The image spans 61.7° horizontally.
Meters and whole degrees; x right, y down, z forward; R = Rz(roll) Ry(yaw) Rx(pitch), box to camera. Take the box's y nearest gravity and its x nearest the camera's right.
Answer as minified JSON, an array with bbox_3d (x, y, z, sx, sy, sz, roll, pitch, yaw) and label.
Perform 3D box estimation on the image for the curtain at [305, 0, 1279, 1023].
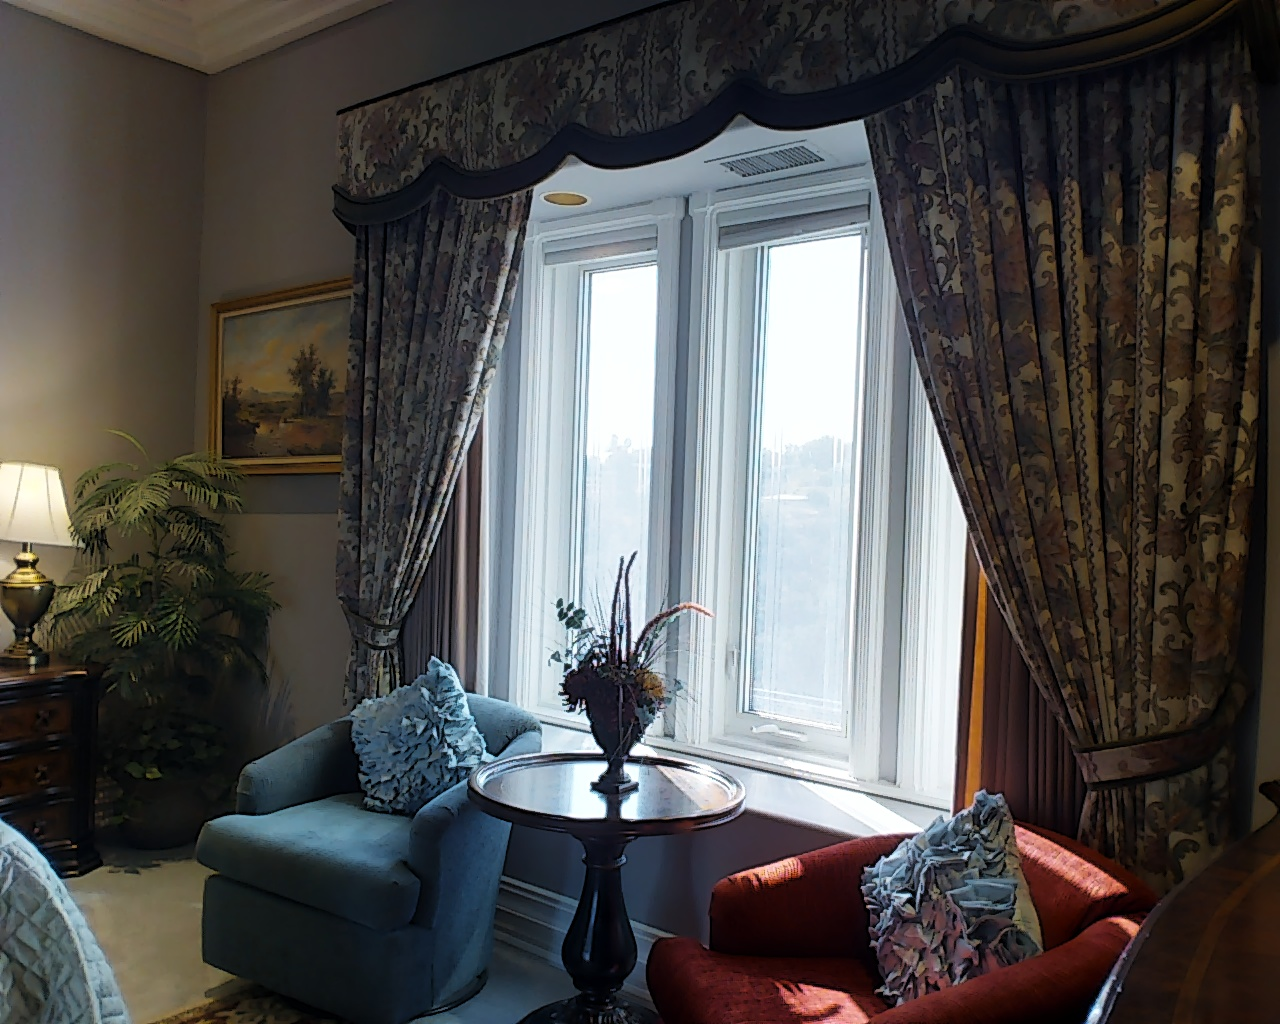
[{"bbox_3d":[0.110,-0.110,2.940,3.010,2.940,0.310,1,0,39],"label":"curtain"}]
